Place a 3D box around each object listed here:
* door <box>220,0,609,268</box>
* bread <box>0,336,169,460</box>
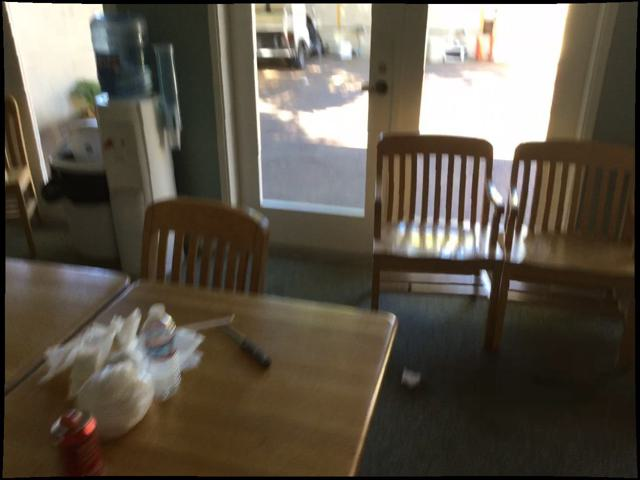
[{"bbox_3d":[0.400,-0.841,2.900,1.768,1.912,0.240,6,28,14],"label":"door"},{"bbox_3d":[-0.499,0.310,1.180,0.300,0.080,0.210,6,28,14],"label":"bread"}]
